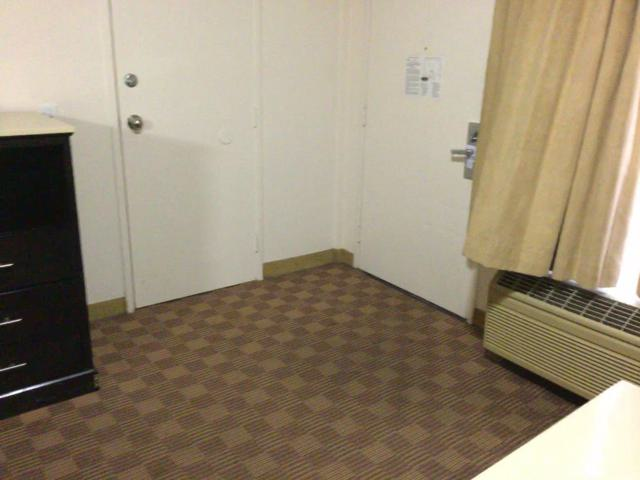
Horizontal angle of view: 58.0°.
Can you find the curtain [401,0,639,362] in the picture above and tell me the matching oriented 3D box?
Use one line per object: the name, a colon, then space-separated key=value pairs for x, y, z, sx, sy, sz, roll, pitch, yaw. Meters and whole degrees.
curtain: x=1.150 y=-0.430 z=1.890 sx=0.500 sy=1.550 sz=1.810 roll=-11 pitch=21 yaw=-36
